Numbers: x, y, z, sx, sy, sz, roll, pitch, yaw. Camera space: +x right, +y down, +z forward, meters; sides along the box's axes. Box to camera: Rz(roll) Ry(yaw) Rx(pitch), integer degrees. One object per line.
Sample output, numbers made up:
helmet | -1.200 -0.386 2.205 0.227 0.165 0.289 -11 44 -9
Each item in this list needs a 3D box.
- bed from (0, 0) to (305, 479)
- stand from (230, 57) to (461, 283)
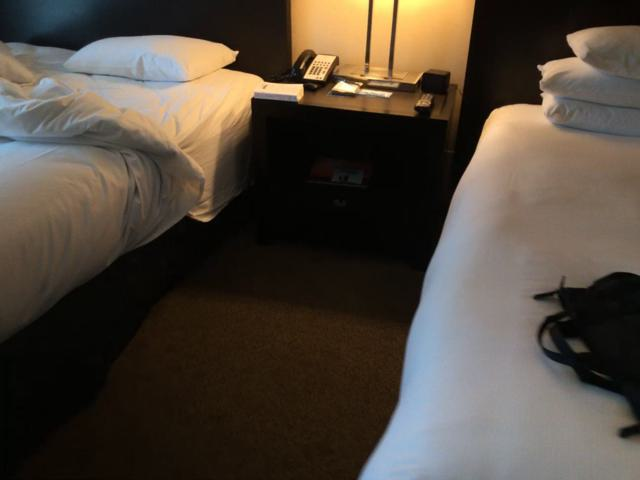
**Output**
bed | -1.230 -0.490 1.920 1.780 1.540 2.120 9 29 14
stand | 0.120 -0.330 2.470 0.810 0.720 0.540 9 29 14
